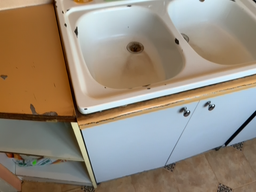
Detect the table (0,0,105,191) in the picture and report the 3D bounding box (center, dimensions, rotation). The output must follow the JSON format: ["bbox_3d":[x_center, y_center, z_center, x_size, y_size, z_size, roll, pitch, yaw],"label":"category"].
[{"bbox_3d":[-0.420,0.110,1.020,0.450,0.870,0.560,-13,55,-12],"label":"table"}]
